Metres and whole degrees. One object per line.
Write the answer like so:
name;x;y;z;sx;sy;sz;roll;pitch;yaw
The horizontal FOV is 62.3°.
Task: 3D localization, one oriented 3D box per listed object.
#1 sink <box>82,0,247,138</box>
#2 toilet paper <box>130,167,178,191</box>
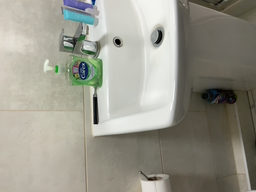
sink;0.040;-0.180;0.610;0.390;0.200;0.560;-22;69;55
toilet paper;0.090;0.330;0.700;0.090;0.120;0.170;-27;65;54
